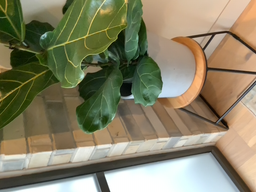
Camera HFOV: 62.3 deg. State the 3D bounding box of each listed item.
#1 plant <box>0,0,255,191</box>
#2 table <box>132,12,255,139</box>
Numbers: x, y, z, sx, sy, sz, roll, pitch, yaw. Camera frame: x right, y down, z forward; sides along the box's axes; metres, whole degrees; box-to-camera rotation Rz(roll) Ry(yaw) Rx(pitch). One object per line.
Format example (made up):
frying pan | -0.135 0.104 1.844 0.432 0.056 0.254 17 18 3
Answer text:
plant | -0.180 -0.130 0.570 0.560 1.000 0.510 -55 47 39
table | 0.380 -0.090 1.080 0.400 0.480 0.400 -61 43 34
